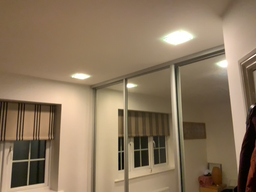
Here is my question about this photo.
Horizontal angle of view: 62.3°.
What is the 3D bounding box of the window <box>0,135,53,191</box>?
[{"bbox_3d":[-1.680,0.810,2.380,1.620,0.690,0.170,8,-14,-41],"label":"window"}]
